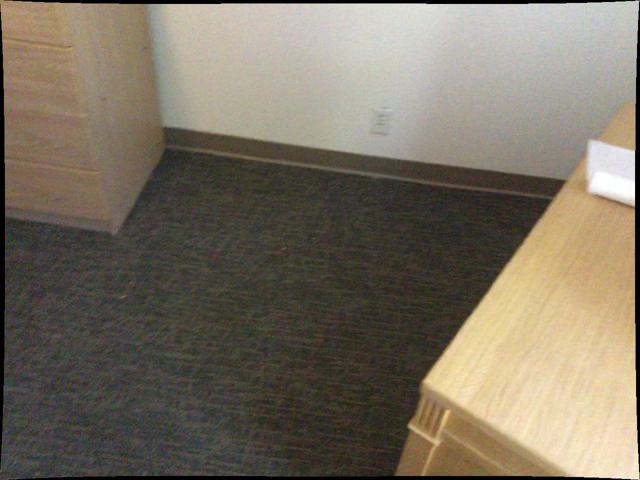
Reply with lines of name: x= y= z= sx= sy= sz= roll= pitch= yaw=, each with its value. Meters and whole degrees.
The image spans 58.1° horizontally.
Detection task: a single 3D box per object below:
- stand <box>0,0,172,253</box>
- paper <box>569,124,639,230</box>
stand: x=-1.028 y=-0.611 z=1.970 sx=0.809 sy=1.011 sz=0.650 roll=11 pitch=42 yaw=0
paper: x=0.689 y=-0.140 z=1.300 sx=0.220 sy=0.060 sz=0.280 roll=19 pitch=43 yaw=10
